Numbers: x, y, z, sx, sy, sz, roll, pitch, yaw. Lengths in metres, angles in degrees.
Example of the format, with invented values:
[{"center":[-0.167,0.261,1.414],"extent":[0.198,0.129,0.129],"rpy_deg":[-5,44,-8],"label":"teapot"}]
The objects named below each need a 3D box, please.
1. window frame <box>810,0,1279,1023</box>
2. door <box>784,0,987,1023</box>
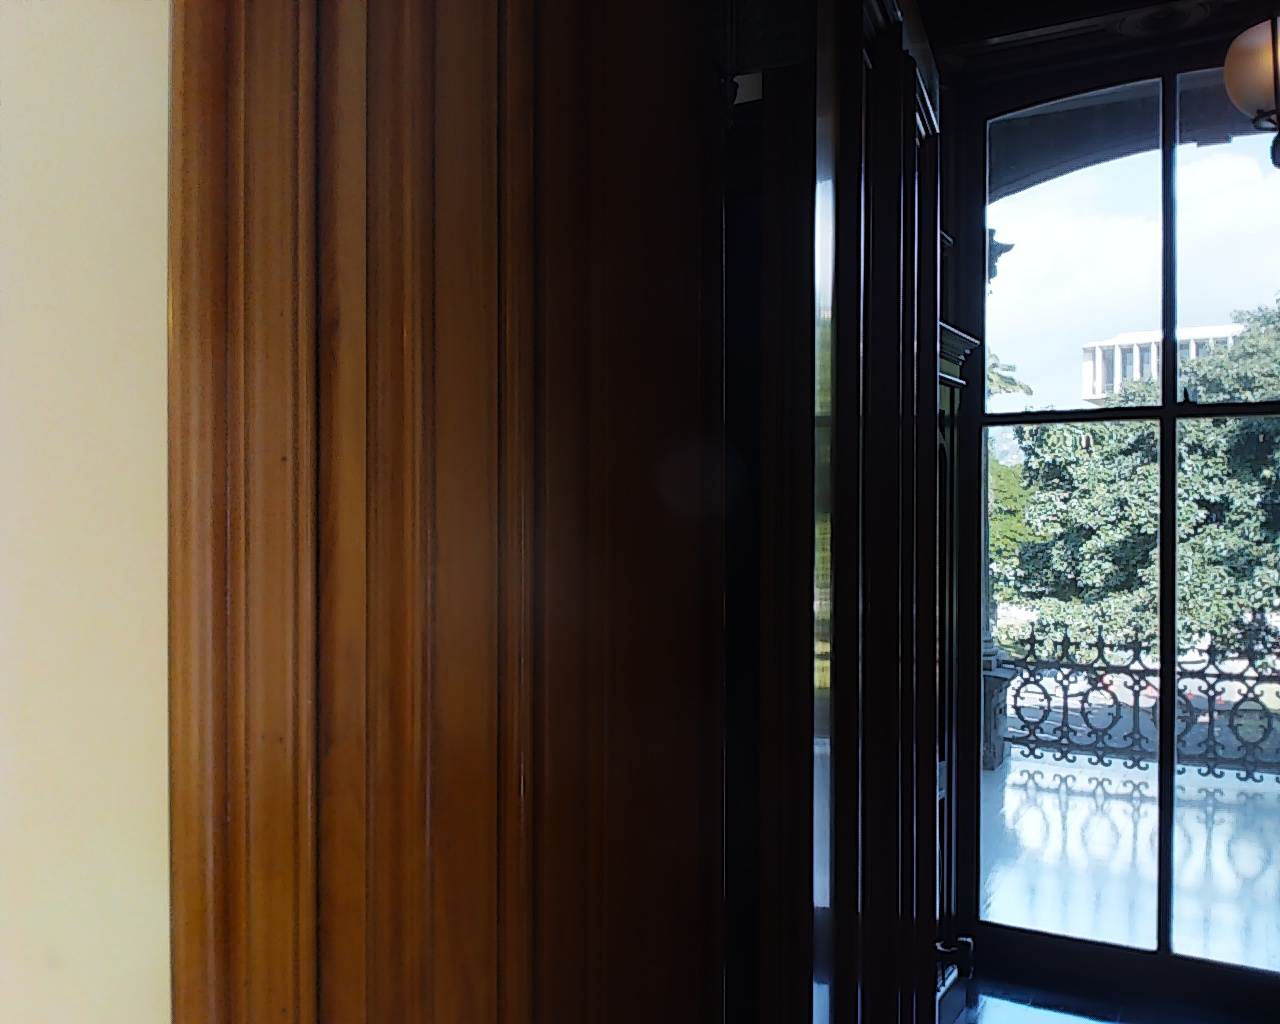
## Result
[{"center":[1.650,-0.170,3.380],"extent":[2.160,3.330,0.510],"rpy_deg":[0,1,31],"label":"window frame"},{"center":[0.340,0.360,1.320],"extent":[0.100,2.300,0.900],"rpy_deg":[0,1,22],"label":"door"}]
